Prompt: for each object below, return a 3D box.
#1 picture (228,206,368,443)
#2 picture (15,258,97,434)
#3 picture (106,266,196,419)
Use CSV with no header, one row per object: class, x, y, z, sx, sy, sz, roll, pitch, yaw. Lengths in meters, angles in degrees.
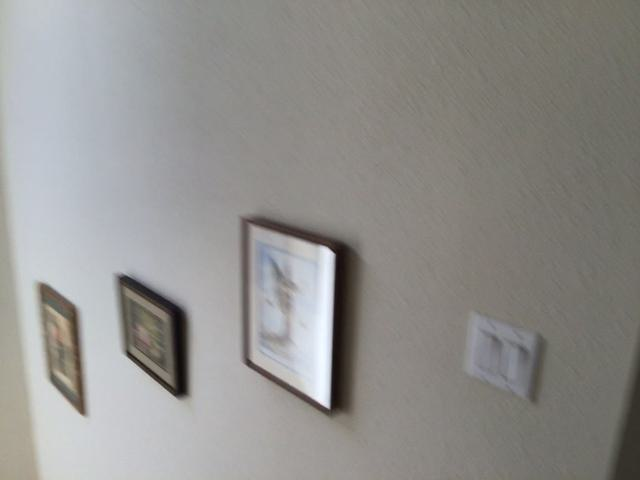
picture,-0.070,0.170,1.290,0.050,0.420,0.380,-11,22,-43
picture,-1.180,0.440,2.560,0.050,0.550,0.740,-11,22,-43
picture,-0.550,0.310,1.850,0.060,0.340,0.460,-11,22,-43
